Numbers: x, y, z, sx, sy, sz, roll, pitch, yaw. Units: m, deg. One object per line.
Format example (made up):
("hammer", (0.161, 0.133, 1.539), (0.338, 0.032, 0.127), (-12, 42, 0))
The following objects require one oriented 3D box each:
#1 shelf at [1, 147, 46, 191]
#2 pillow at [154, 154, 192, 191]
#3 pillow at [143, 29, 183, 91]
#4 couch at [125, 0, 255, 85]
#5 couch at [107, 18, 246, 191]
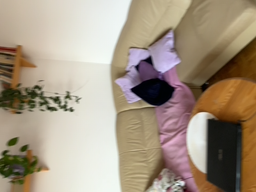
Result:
("shelf", (-0.920, 1.010, 1.840), (0.220, 0.330, 1.070), (119, 147, -55))
("pillow", (0.410, 0.760, 1.910), (0.400, 0.250, 0.360), (64, -163, -60))
("pillow", (0.330, -0.350, 2.180), (0.510, 0.130, 0.400), (123, 144, -58))
("couch", (0.530, -0.670, 1.820), (0.900, 0.810, 0.780), (123, 144, -58))
("couch", (0.380, 0.480, 2.160), (0.800, 0.830, 2.490), (123, 143, -57))
